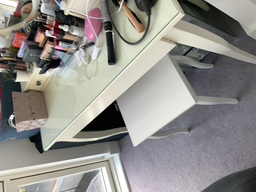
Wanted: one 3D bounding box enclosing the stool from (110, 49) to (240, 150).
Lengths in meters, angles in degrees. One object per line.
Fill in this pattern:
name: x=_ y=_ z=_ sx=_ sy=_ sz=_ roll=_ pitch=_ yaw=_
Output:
stool: x=0.240 y=0.040 z=1.140 sx=0.420 sy=0.460 sz=0.290 roll=-44 pitch=57 yaw=38
